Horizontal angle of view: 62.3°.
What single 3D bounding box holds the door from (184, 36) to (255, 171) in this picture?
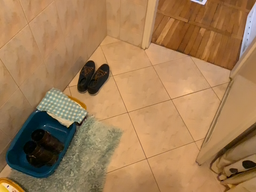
[{"bbox_3d":[0.620,-0.320,0.660,0.080,1.990,0.680,28,60,13],"label":"door"}]
